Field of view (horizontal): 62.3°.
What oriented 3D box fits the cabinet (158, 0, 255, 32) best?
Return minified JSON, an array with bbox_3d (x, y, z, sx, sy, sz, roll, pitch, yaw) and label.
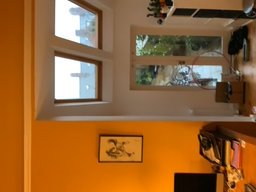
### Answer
[{"bbox_3d":[1.350,-1.430,3.500,0.890,1.530,0.470,-145,56,-86],"label":"cabinet"}]
